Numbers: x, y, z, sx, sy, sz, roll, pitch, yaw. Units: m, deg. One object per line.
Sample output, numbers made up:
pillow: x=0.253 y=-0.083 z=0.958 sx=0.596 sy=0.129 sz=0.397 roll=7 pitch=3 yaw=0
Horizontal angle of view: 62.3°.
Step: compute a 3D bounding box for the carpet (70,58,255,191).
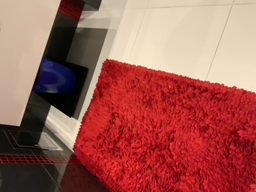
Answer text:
carpet: x=0.050 y=0.180 z=0.810 sx=0.730 sy=0.030 sz=0.570 roll=22 pitch=93 yaw=45
